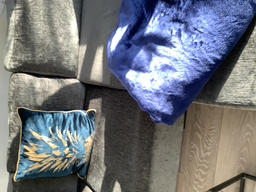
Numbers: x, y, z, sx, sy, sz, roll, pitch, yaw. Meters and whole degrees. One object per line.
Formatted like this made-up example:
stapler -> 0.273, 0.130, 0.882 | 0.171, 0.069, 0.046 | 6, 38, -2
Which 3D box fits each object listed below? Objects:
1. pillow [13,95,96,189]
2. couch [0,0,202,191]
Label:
pillow -> -0.460, 0.260, 1.330 | 0.220, 0.430, 0.490 | 10, 96, 63
couch -> -0.280, 0.330, 1.370 | 0.990, 0.800, 2.160 | 9, 95, 49
